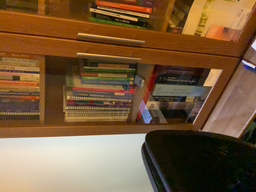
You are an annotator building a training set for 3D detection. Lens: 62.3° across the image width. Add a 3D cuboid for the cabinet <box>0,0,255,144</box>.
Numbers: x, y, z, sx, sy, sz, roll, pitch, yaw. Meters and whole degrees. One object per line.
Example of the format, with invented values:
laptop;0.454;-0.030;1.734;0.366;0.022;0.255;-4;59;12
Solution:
cabinet;-0.120;-0.260;0.830;0.340;1.150;0.900;-112;29;-49
